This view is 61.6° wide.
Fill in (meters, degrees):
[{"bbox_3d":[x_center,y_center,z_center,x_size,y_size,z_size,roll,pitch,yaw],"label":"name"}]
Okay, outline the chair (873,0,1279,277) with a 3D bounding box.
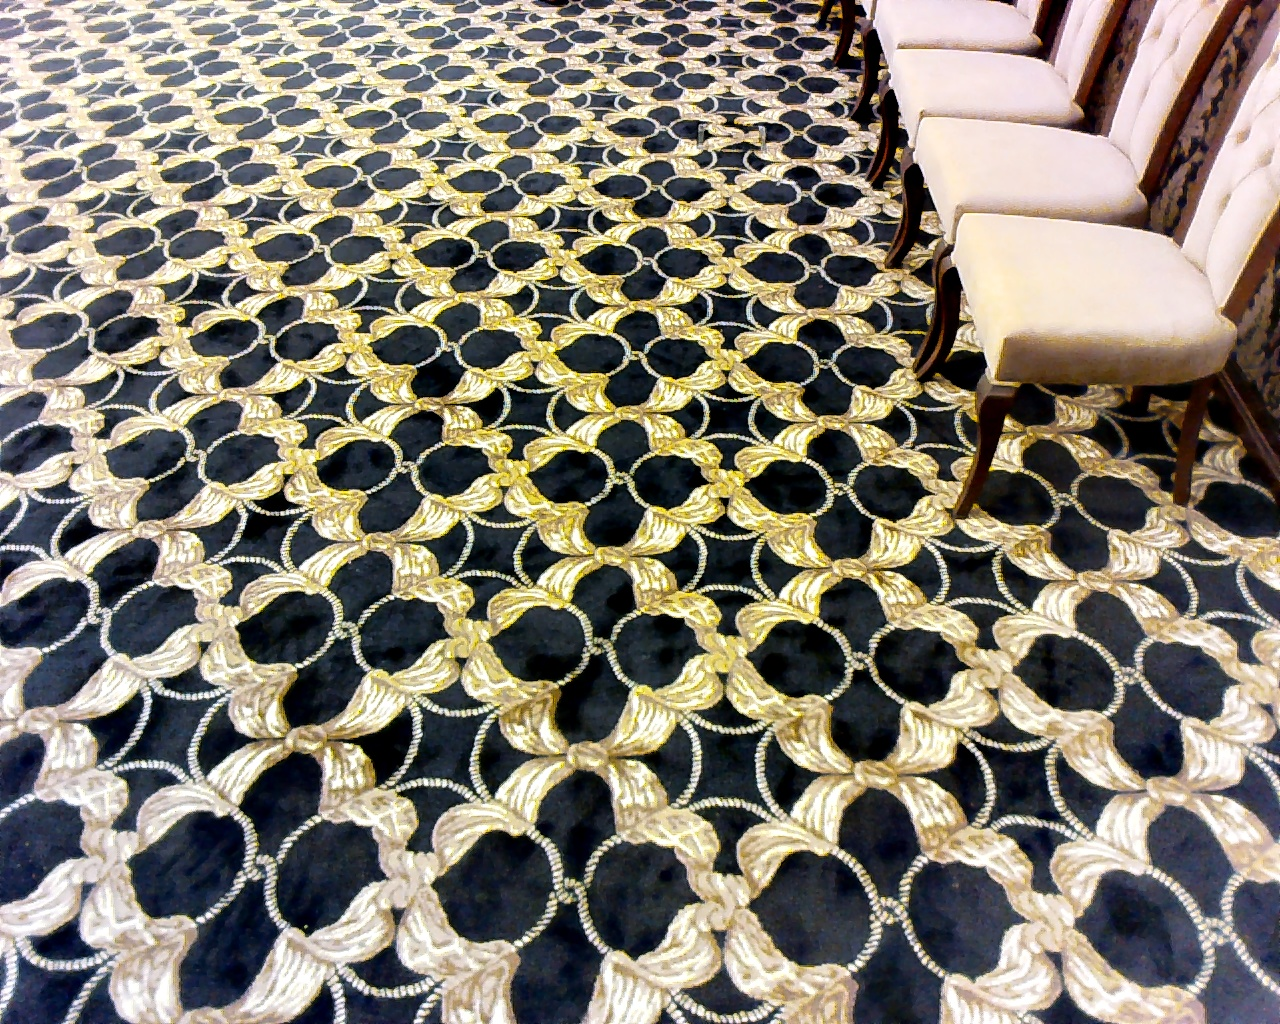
[{"bbox_3d":[1.190,-1.340,3.060,0.820,1.080,0.690,3,41,3],"label":"chair"}]
